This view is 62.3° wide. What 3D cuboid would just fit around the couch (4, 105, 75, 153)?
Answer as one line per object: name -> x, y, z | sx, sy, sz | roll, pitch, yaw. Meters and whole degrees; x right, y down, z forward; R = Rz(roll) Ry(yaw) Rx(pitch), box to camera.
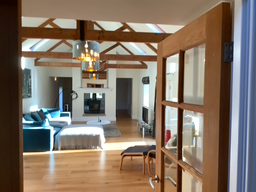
couch -> -2.640, 0.900, 7.090 | 1.350, 0.860, 3.490 | 0, 3, -8
